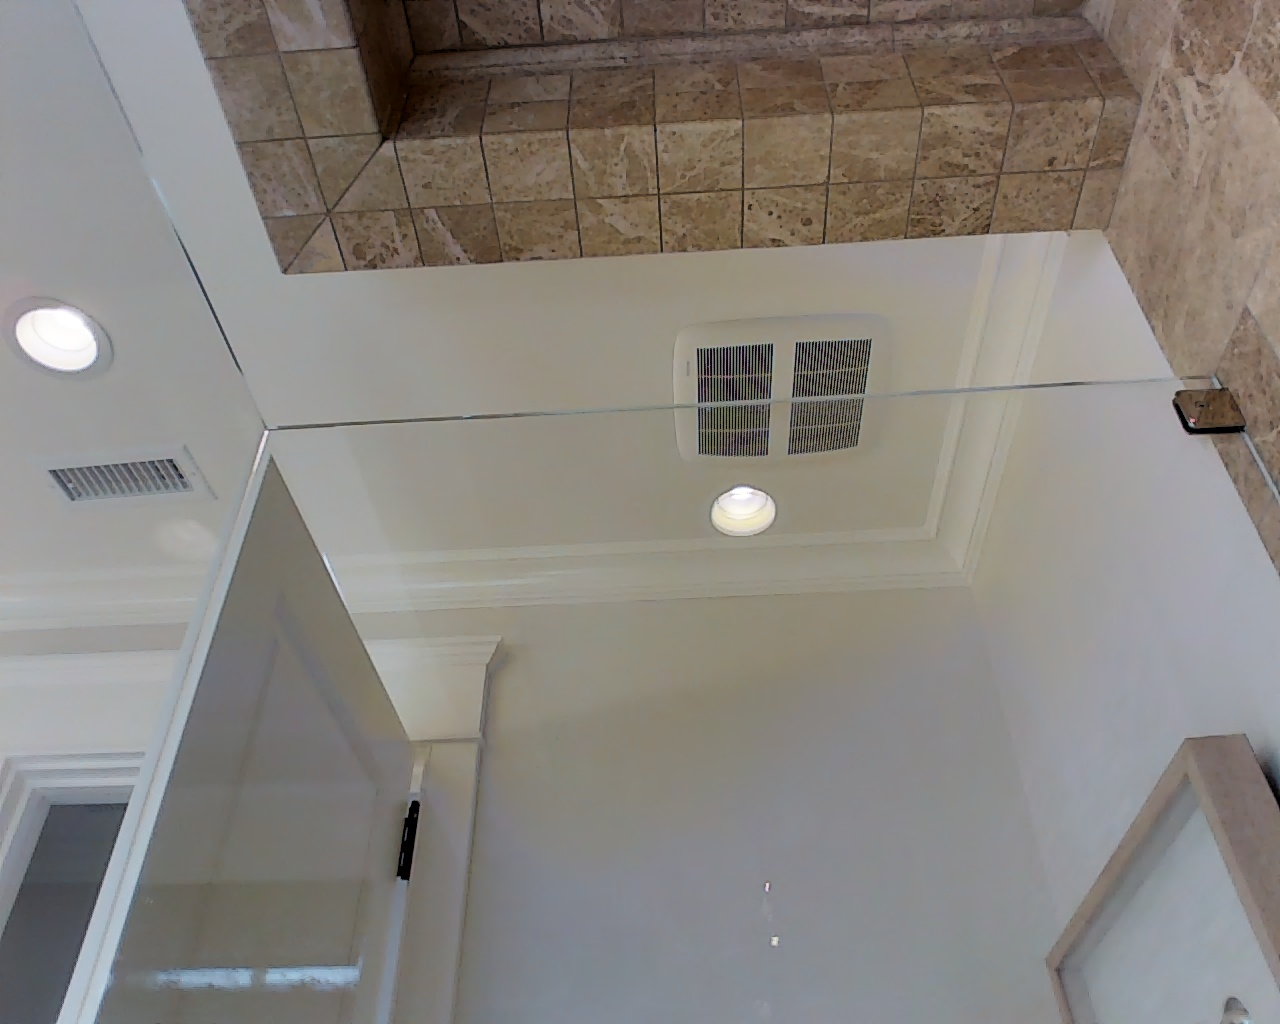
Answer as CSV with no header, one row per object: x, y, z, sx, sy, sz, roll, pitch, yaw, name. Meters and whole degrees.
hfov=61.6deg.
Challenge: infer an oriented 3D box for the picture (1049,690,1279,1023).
0.590,0.620,1.030,0.090,0.630,0.660,-3,-42,3,picture
